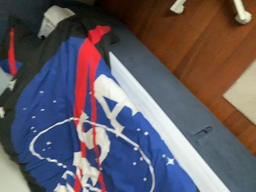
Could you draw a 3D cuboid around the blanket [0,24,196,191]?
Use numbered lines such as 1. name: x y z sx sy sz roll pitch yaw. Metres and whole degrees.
1. blanket: -0.290 0.370 0.920 0.930 0.280 0.900 53 126 27
